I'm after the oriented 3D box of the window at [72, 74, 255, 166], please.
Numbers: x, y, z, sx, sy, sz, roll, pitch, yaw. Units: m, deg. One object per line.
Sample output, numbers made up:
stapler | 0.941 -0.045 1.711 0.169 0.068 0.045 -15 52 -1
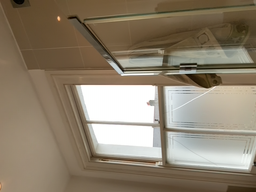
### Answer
window | 0.380 0.270 2.130 0.070 1.720 1.030 -71 -23 -54
